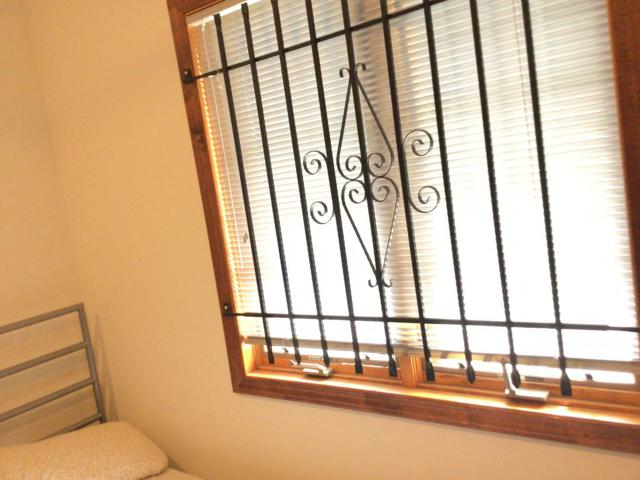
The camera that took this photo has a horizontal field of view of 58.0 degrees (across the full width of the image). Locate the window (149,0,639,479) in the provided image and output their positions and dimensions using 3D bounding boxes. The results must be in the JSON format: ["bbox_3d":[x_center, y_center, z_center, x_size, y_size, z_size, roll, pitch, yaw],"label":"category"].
[{"bbox_3d":[0.150,-0.140,1.530,1.350,1.350,0.160,-3,7,36],"label":"window"}]

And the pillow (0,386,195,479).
[{"bbox_3d":[-0.950,0.800,1.880,0.560,0.280,0.890,-3,7,36],"label":"pillow"}]
